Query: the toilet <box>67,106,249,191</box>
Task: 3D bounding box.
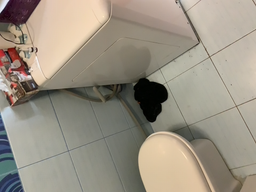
[{"bbox_3d":[0.250,0.490,1.080,0.370,0.840,0.670,-30,78,37],"label":"toilet"}]
